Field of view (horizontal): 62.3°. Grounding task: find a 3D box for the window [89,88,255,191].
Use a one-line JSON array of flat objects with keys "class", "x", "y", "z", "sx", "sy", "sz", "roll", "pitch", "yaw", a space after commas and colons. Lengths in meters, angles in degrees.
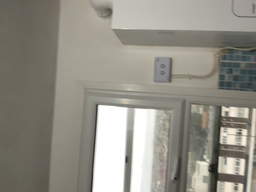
[{"class": "window", "x": 0.330, "y": 0.430, "z": 1.340, "sx": 0.120, "sy": 1.130, "sz": 0.890, "roll": 1, "pitch": -87, "yaw": -83}]
